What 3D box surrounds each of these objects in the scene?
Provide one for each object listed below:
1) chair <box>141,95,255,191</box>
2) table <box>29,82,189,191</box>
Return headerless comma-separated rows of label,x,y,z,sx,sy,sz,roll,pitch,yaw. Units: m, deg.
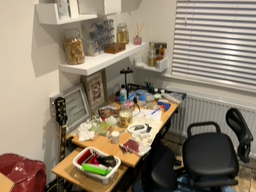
chair,0.490,0.490,1.600,0.710,0.770,0.600,4,27,11
table,-0.020,0.460,1.760,0.630,0.690,1.200,14,30,28
